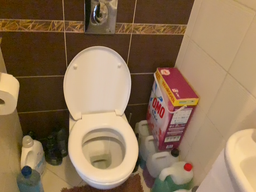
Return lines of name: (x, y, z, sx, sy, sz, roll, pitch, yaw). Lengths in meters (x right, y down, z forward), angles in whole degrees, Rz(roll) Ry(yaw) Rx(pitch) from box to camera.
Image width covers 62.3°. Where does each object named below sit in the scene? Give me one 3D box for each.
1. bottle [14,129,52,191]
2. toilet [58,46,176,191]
bottle: (-0.540, 0.410, 1.250, 0.150, 0.290, 0.300, -3, 40, -16)
toilet: (-0.140, 0.220, 1.160, 0.410, 0.810, 0.520, -3, 40, -16)
